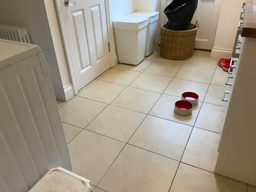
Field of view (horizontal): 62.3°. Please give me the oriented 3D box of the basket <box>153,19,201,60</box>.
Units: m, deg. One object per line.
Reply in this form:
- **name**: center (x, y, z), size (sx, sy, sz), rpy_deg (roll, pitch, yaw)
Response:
- **basket**: center (0.690, -0.820, 3.020), size (0.500, 0.410, 0.430), rpy_deg (17, 36, 28)

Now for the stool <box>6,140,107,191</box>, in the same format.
- **stool**: center (-0.350, 0.490, 1.050), size (0.270, 0.240, 0.450), rpy_deg (13, 34, 24)

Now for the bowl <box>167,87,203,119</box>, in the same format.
- **bowl**: center (0.540, 0.050, 1.970), size (0.190, 0.040, 0.460), rpy_deg (16, 35, 28)
